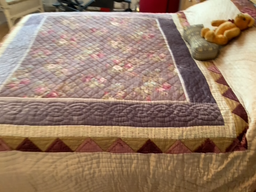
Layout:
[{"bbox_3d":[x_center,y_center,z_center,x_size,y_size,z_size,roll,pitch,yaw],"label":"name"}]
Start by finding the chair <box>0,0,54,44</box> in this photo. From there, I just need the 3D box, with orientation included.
[{"bbox_3d":[-1.510,-1.280,2.710,0.610,0.880,0.680,25,45,23],"label":"chair"}]
